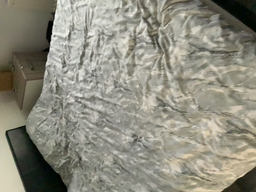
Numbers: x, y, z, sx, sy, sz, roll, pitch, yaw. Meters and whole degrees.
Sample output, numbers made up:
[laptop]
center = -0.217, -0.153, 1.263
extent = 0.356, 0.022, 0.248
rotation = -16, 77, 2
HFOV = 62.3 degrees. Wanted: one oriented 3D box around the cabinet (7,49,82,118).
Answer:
[cabinet]
center = -1.060, -0.180, 2.660
extent = 0.470, 0.670, 0.640
rotation = 52, 133, 27
